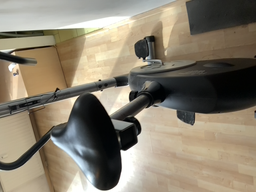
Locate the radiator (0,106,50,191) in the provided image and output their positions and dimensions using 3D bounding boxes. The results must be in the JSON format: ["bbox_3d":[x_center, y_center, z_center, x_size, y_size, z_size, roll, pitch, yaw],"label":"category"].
[{"bbox_3d":[-1.660,0.790,3.170,0.190,0.680,1.100,4,108,43],"label":"radiator"}]
